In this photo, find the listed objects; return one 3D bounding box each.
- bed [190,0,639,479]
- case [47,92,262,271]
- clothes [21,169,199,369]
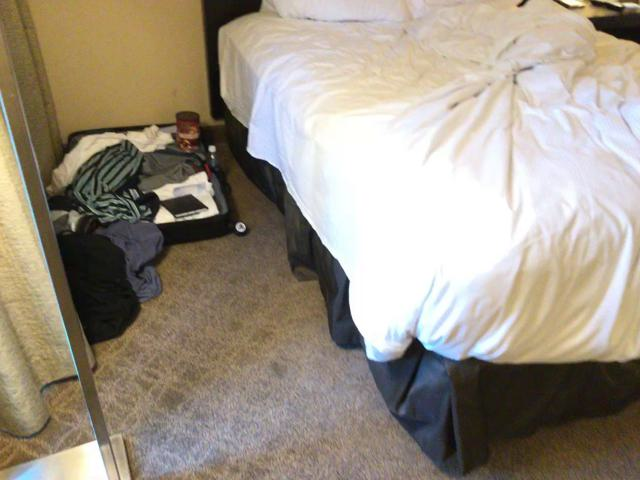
[{"bbox_3d":[0.620,-0.580,1.970,1.730,1.400,2.300,-13,34,-15],"label":"bed"},{"bbox_3d":[-0.700,-0.300,2.390,0.690,0.270,0.890,-13,34,-15],"label":"case"},{"bbox_3d":[-0.720,0.050,1.990,0.450,0.240,0.730,-13,34,-15],"label":"clothes"}]
